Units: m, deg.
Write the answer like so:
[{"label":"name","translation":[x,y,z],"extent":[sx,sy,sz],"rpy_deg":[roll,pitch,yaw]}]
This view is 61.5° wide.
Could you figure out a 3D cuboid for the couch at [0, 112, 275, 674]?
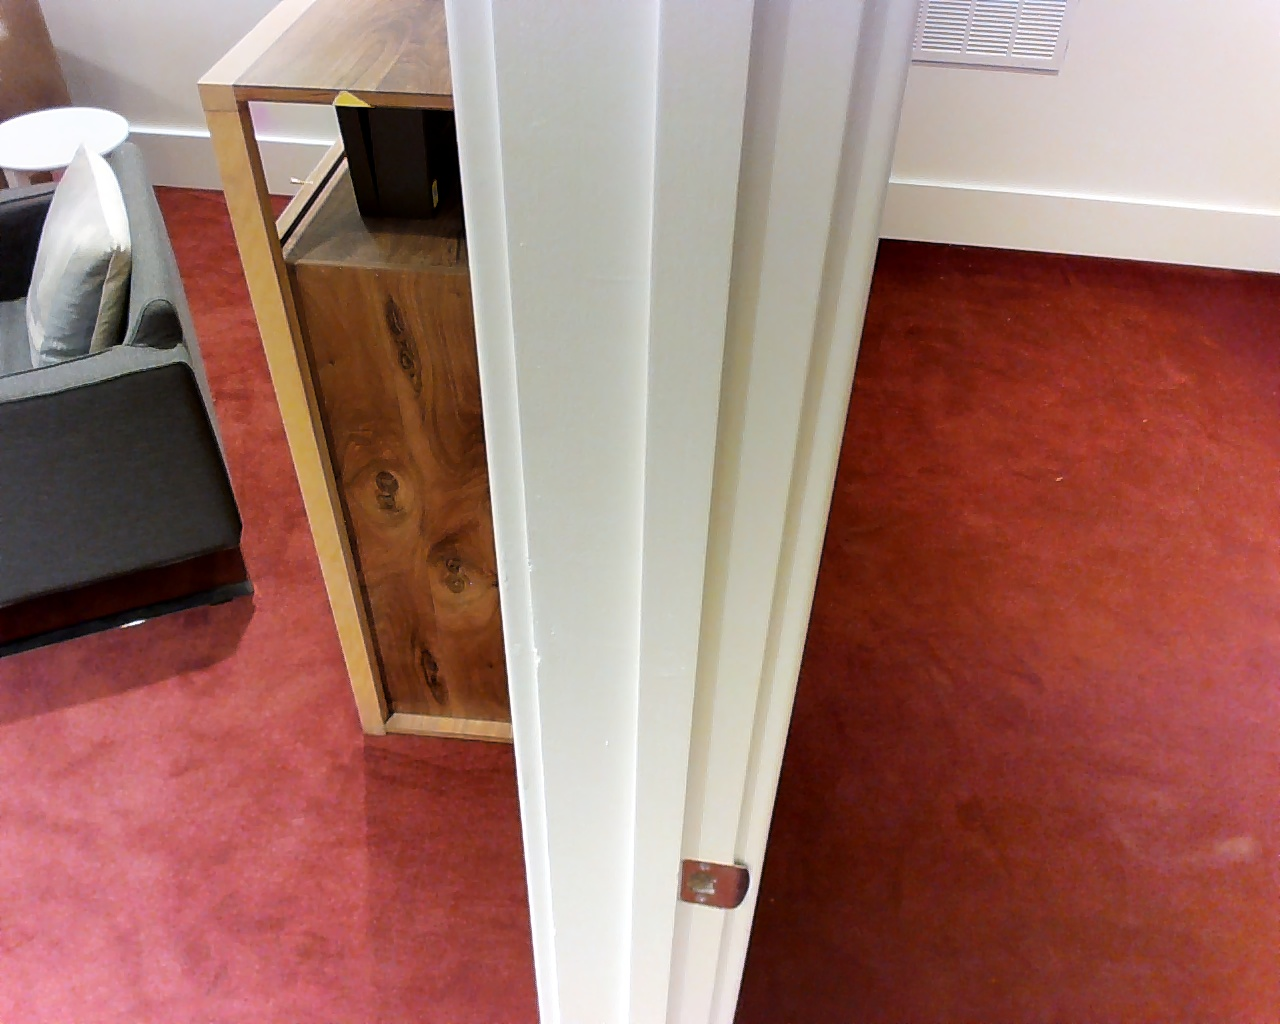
[{"label":"couch","translation":[-1.280,-0.220,2.050],"extent":[0.880,0.670,0.820],"rpy_deg":[-15,44,-17]}]
